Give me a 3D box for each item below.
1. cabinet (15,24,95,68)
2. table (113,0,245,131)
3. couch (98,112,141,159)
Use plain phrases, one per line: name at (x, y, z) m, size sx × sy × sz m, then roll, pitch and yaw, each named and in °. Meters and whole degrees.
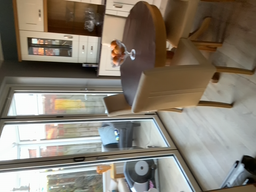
cabinet at (-1.230, -0.840, 3.700) m, size 0.260 × 1.230 × 0.620 m, roll -116°, pitch 31°, yaw -52°
table at (0.390, -0.430, 2.440) m, size 1.150 × 0.770 × 1.130 m, roll -116°, pitch 31°, yaw -52°
couch at (-0.210, 0.810, 4.520) m, size 0.660 × 0.740 × 0.760 m, roll -153°, pitch 64°, yaw -69°
